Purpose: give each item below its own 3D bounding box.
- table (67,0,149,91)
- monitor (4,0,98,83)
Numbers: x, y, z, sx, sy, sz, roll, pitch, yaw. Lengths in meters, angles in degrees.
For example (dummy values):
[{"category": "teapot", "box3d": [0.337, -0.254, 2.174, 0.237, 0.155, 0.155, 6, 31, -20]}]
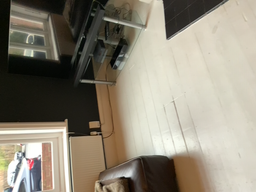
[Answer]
[{"category": "table", "box3d": [-0.310, -0.580, 2.620, 1.080, 0.590, 0.410, -58, 41, 40]}, {"category": "monitor", "box3d": [-0.870, -0.630, 2.280, 1.210, 0.720, 0.090, -56, 41, 39]}]
